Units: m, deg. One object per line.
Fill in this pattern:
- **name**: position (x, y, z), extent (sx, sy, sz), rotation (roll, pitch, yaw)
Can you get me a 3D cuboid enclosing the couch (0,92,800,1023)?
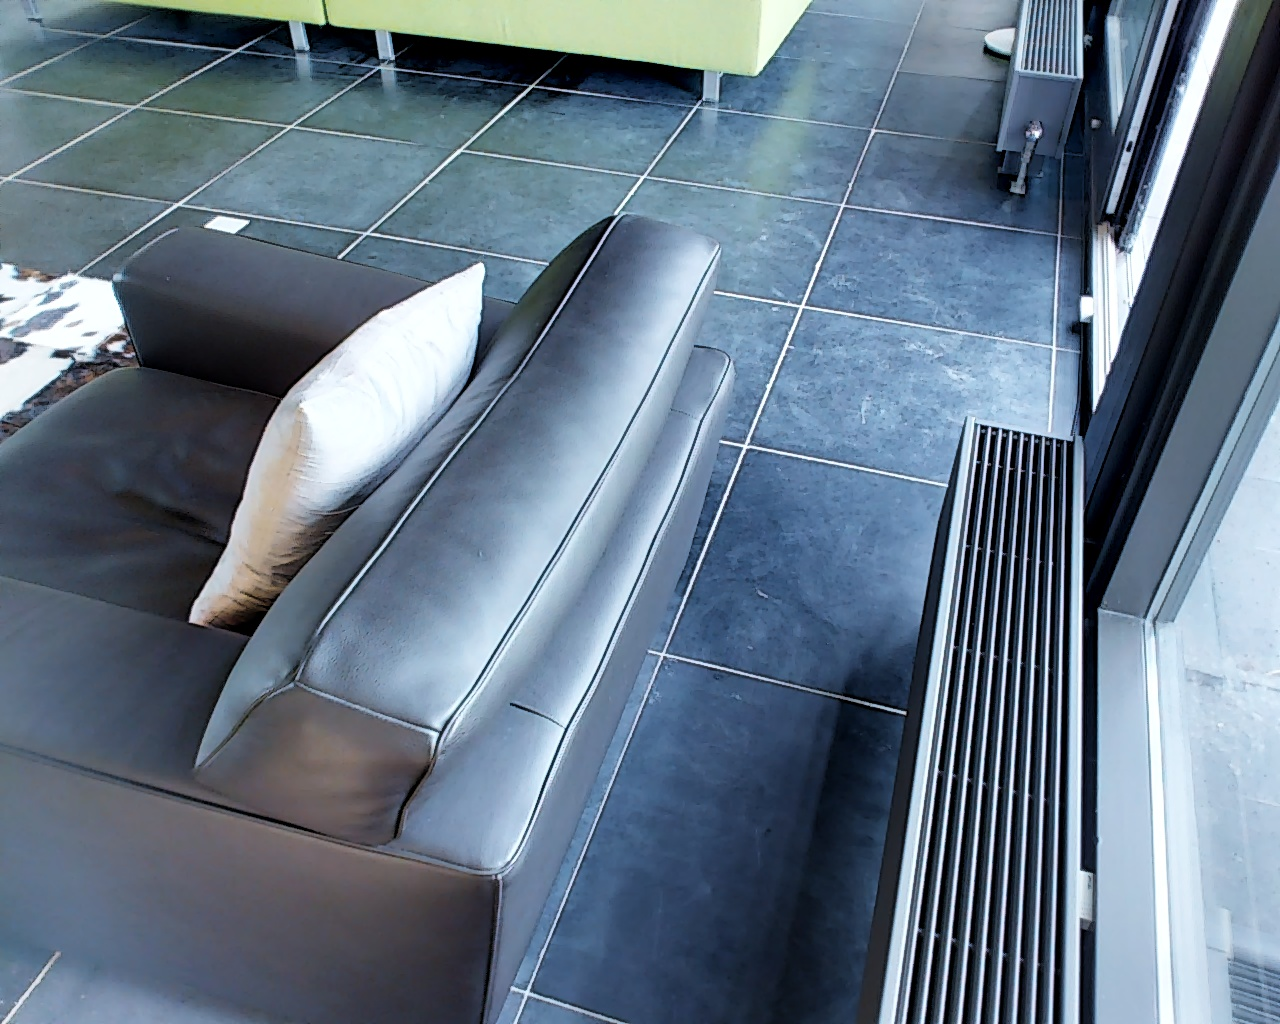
- **couch**: position (-0.480, 0.030, 1.480), extent (1.130, 0.720, 1.040), rotation (13, 42, 13)
